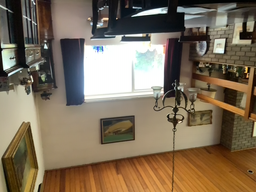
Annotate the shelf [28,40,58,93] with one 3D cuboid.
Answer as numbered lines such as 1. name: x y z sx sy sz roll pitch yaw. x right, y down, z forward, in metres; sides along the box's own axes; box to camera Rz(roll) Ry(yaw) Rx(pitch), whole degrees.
1. shelf: -1.720 -0.620 4.370 0.430 1.040 0.430 -3 -166 -13
